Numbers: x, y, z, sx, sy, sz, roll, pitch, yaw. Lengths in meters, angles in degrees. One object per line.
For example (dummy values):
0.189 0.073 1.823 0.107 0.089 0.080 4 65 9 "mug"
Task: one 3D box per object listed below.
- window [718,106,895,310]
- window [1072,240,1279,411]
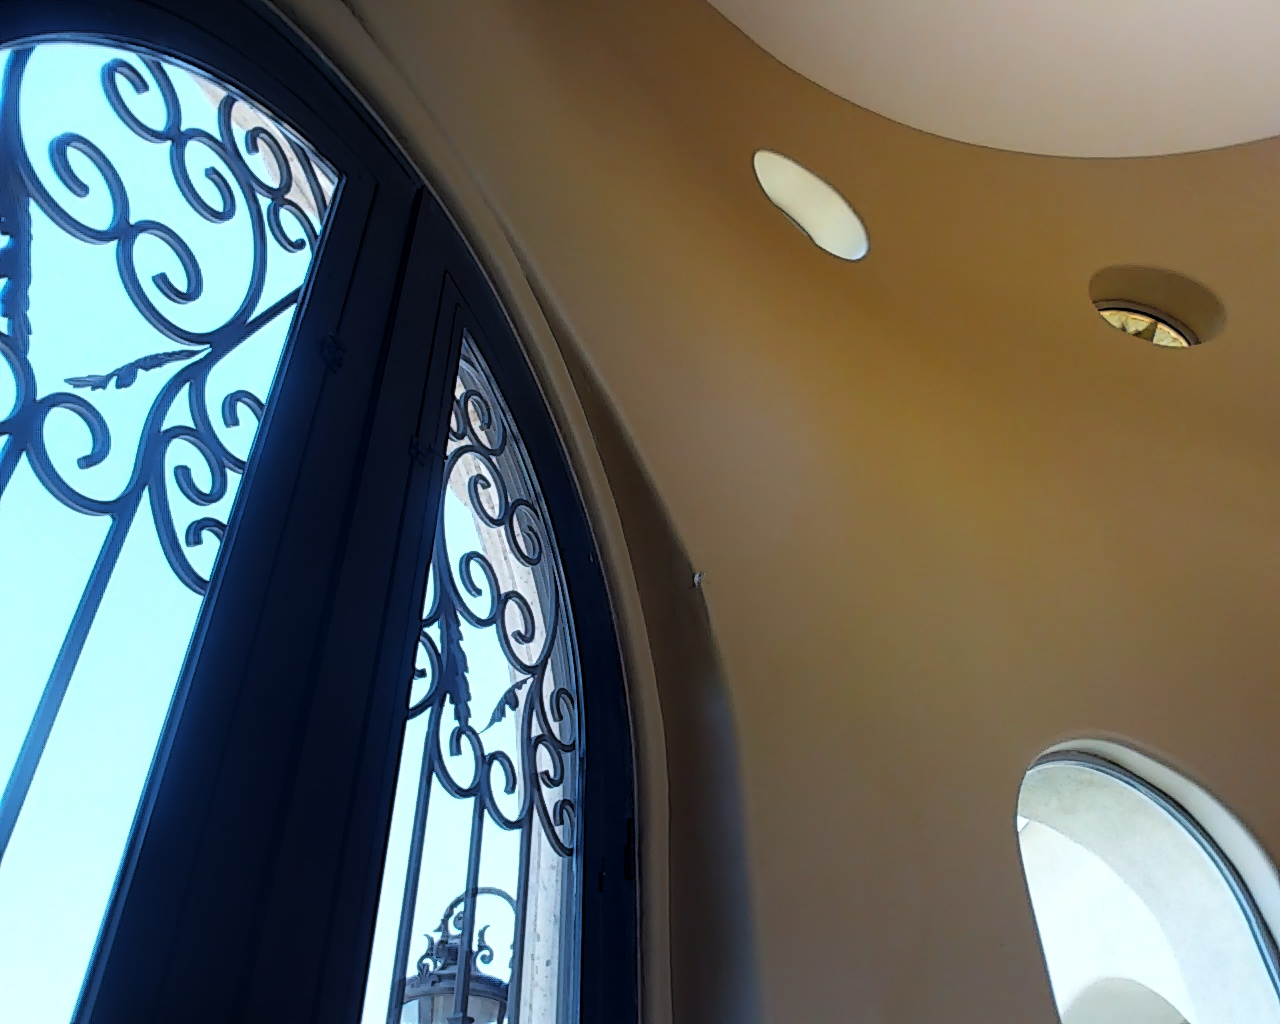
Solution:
0.650 -1.210 4.250 0.640 0.620 0.220 22 -45 -24 "window"
2.299 -0.810 4.640 0.570 0.590 0.430 -2 -41 3 "window"
